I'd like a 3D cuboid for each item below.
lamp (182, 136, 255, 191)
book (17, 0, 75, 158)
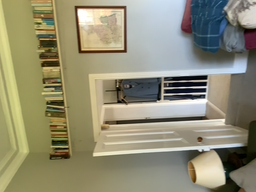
[{"bbox_3d":[1.030,0.690,2.110,0.370,0.860,0.390,-102,9,-69],"label":"lamp"},{"bbox_3d":[-0.910,-1.120,2.040,0.240,0.290,3.950,-101,9,-68],"label":"book"}]
